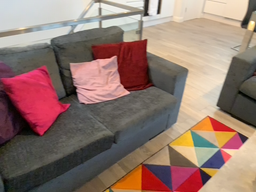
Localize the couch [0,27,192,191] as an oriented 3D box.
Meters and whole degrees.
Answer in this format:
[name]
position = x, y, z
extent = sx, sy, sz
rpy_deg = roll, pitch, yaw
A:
[couch]
position = -0.440, 0.080, 1.730
extent = 1.670, 0.780, 0.960
rpy_deg = -25, 43, -35
